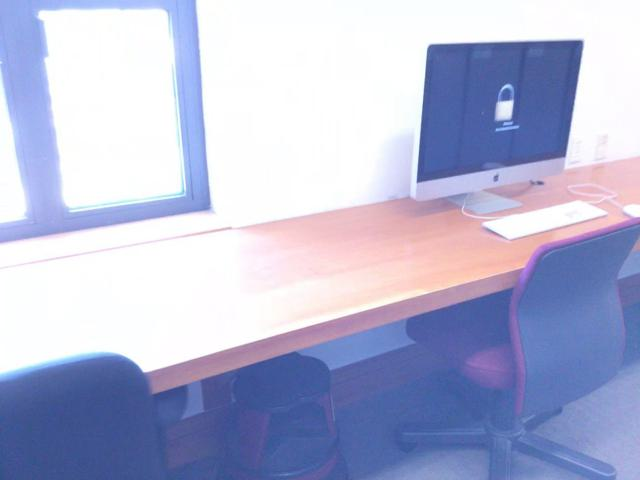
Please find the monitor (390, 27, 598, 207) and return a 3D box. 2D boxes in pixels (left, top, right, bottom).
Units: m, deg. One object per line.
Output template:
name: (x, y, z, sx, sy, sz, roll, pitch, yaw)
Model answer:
monitor: (0.550, -0.370, 1.790, 0.700, 0.490, 0.080, -6, 21, -29)
